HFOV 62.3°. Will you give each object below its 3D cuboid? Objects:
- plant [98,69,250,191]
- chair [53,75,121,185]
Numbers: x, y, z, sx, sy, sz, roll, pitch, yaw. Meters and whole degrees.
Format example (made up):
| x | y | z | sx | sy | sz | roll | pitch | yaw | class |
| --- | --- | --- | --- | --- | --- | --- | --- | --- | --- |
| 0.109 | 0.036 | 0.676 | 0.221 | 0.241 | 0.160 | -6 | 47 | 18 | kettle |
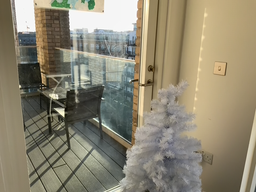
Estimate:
| x | y | z | sx | sy | sz | roll | pitch | yaw | class |
| --- | --- | --- | --- | --- | --- | --- | --- | --- | --- |
| 0.240 | 0.410 | 1.450 | 0.690 | 1.080 | 0.610 | -8 | 18 | -32 | plant |
| -0.440 | 0.300 | 2.240 | 0.500 | 0.940 | 0.550 | -8 | 18 | -31 | chair |
